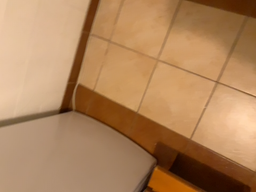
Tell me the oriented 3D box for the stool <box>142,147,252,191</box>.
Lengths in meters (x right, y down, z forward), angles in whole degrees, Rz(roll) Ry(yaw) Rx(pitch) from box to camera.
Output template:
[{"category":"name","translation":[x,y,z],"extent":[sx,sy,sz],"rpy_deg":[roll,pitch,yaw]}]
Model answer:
[{"category":"stool","translation":[0.290,0.440,0.910],"extent":[0.400,0.260,0.200],"rpy_deg":[26,105,21]}]
